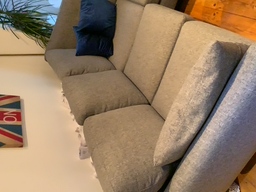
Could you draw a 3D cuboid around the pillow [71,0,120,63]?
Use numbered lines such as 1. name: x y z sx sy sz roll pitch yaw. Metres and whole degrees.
1. pillow: -0.320 -0.720 2.060 0.380 0.300 0.710 2 87 57
